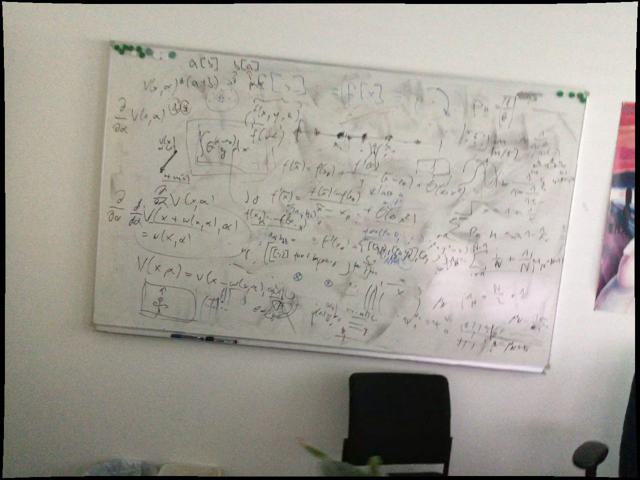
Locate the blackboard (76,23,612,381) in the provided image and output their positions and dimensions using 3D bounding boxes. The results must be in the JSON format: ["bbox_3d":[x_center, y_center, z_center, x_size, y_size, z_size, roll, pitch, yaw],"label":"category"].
[{"bbox_3d":[0.040,-0.150,2.420,2.078,1.291,0.140,5,8,2],"label":"blackboard"}]
